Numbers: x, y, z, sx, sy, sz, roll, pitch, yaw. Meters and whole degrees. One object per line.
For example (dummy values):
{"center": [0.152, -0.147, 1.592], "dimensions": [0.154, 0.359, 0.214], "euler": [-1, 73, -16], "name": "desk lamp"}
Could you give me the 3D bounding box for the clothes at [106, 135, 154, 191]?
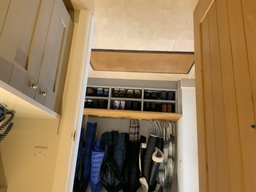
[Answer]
{"center": [0.030, 0.990, 2.970], "dimensions": [0.590, 0.800, 0.400], "euler": [4, 164, -1], "name": "clothes"}
